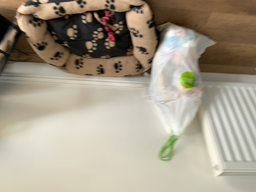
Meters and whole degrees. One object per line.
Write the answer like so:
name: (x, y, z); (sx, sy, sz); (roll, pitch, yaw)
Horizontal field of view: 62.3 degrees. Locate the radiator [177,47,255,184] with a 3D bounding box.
radiator: (1.040, 0.090, 1.320); (1.310, 0.830, 0.190); (3, 142, -7)
